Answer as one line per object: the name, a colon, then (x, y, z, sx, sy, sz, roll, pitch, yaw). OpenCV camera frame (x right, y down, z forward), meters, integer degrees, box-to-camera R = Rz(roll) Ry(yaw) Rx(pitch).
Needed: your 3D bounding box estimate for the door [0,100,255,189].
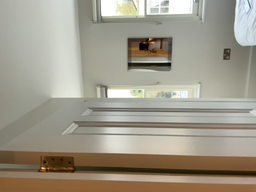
door: (0.550, 0.130, 0.890, 0.810, 2.040, 0.030, -73, -17, -78)
